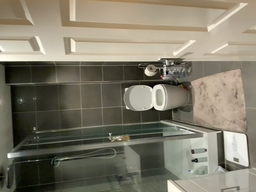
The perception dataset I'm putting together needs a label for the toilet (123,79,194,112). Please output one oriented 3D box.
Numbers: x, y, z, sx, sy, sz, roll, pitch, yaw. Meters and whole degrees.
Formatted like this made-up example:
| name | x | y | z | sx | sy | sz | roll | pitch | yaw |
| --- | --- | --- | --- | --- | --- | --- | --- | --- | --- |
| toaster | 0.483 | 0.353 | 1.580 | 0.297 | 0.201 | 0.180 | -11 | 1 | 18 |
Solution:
| name | x | y | z | sx | sy | sz | roll | pitch | yaw |
| --- | --- | --- | --- | --- | --- | --- | --- | --- | --- |
| toilet | 0.390 | -0.010 | 2.970 | 0.640 | 0.780 | 0.390 | 177 | 90 | -75 |
